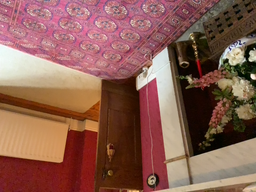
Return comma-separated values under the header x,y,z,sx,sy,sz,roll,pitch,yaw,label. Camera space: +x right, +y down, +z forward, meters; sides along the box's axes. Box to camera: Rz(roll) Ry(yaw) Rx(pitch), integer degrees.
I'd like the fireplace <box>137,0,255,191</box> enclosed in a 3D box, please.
x,y,z,sx,sy,sz,roll,pitch,yaw,label
0.850,-0.100,1.310,0.790,1.170,1.520,17,145,-29,fireplace

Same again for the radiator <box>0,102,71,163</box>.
x,y,z,sx,sy,sz,roll,pitch,yaw,label
-1.260,0.460,2.640,1.030,0.610,0.100,18,145,-30,radiator
